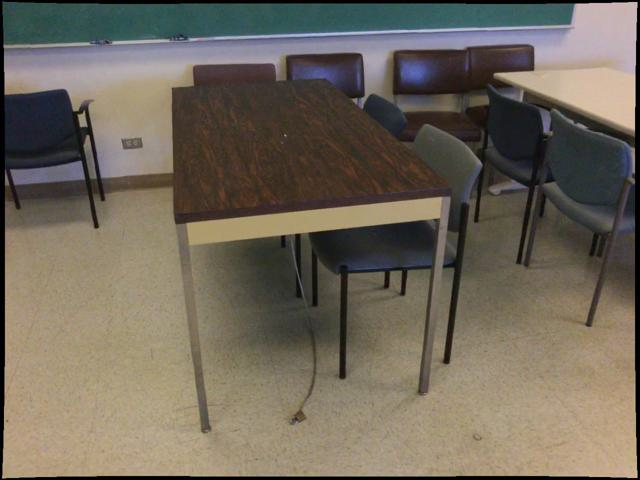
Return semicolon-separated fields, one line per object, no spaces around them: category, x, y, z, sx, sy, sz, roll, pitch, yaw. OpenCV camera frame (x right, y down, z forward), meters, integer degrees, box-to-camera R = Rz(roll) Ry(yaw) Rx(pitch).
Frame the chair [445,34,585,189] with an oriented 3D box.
chair;1.177;-0.822;3.610;0.509;0.802;0.570;-7;28;-12

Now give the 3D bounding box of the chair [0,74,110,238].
chair;-1.486;-0.461;3.050;0.559;0.681;0.550;-7;28;-12

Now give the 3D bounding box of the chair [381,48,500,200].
chair;0.678;-0.712;3.470;0.539;0.752;0.620;0;27;0

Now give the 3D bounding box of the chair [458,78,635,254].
chair;1.057;-0.381;2.820;0.509;0.681;0.520;-7;28;-12

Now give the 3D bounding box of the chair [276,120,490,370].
chair;0.190;-0.010;2.150;0.589;0.701;0.540;-7;28;-12

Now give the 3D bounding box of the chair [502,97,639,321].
chair;1.197;-0.160;2.380;0.539;0.691;0.600;-7;28;-12
